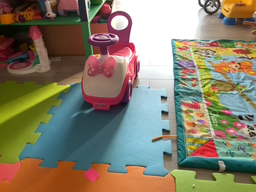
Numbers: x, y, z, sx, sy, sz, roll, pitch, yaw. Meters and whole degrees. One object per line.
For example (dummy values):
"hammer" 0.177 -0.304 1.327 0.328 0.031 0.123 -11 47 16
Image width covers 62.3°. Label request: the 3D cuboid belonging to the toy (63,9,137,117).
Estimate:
"toy" -0.100 -0.210 1.140 0.210 0.370 0.530 6 36 10
